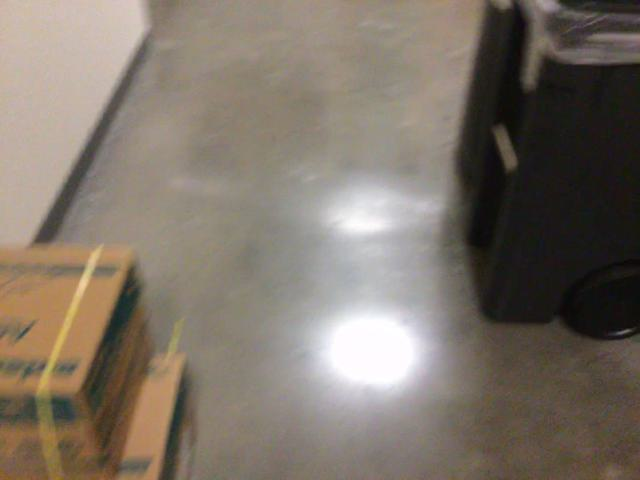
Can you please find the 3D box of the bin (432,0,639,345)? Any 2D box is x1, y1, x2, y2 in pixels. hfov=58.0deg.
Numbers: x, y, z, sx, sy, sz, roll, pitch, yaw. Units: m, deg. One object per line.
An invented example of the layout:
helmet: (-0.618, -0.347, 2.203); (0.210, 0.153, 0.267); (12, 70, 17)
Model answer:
bin: (0.690, -0.230, 1.420); (0.640, 0.930, 0.490); (2, 43, 1)

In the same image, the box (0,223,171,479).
box: (-0.560, 0.200, 1.020); (0.470, 0.300, 0.350); (2, 43, 1)
